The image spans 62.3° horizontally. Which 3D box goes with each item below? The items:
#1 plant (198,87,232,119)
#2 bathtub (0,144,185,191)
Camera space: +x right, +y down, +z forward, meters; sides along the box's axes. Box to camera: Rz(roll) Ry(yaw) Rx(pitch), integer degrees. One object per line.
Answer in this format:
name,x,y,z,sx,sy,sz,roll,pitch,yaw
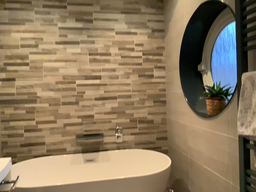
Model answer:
plant,0.690,0.050,1.700,0.160,0.240,0.220,-2,1,-8
bathtub,-0.350,0.870,1.930,1.490,0.570,0.800,-2,1,-10
